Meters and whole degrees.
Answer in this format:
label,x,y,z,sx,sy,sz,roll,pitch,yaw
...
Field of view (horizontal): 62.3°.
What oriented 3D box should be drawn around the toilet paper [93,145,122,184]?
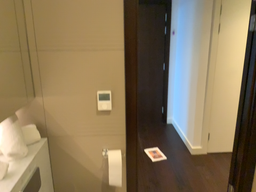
label,x,y,z,sx,sy,sz,roll,pitch,yaw
toilet paper,-0.140,0.490,1.520,0.190,0.240,0.110,-1,16,0
